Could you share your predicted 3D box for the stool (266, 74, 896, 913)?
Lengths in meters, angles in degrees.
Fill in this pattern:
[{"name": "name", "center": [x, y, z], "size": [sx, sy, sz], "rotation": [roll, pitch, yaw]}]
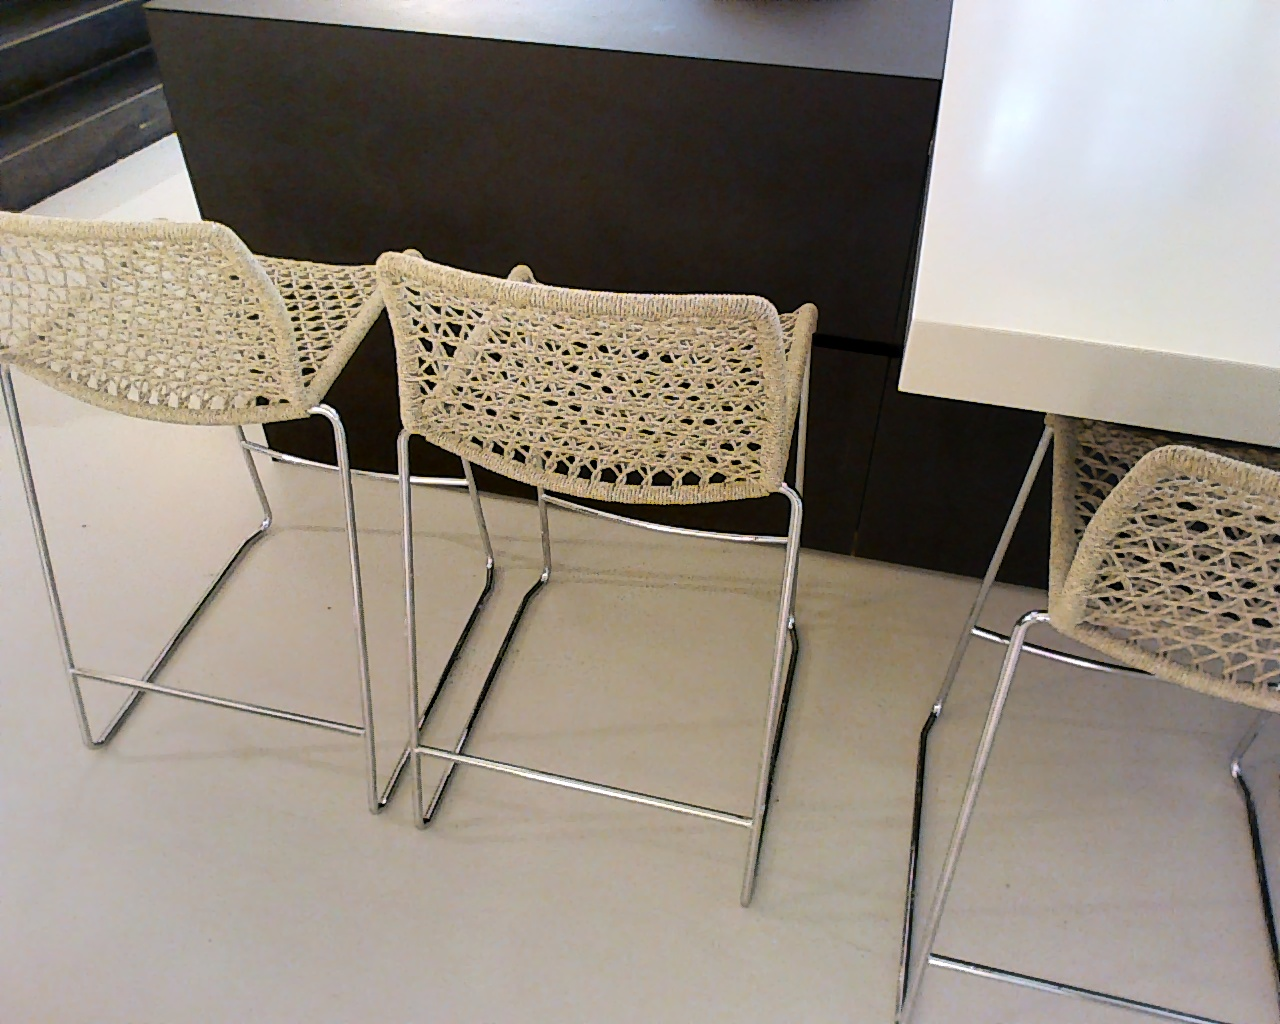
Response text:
[{"name": "stool", "center": [-0.020, 0.000, 1.480], "size": [0.540, 0.940, 0.560], "rotation": [10, 43, 11]}]
